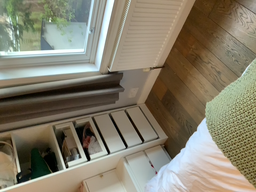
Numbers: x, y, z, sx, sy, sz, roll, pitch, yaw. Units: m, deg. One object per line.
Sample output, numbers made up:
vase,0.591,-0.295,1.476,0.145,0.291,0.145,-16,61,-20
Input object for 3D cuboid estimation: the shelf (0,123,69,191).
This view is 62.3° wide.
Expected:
shelf,-1.250,0.730,1.690,0.510,1.360,0.590,57,142,34
